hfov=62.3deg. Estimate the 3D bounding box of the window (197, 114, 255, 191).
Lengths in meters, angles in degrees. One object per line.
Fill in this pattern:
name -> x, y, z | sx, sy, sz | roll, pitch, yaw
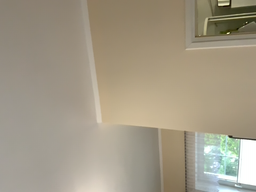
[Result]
window -> 1.960, 1.120, 3.820 | 0.400, 1.310, 1.430 | -36, -56, -60
